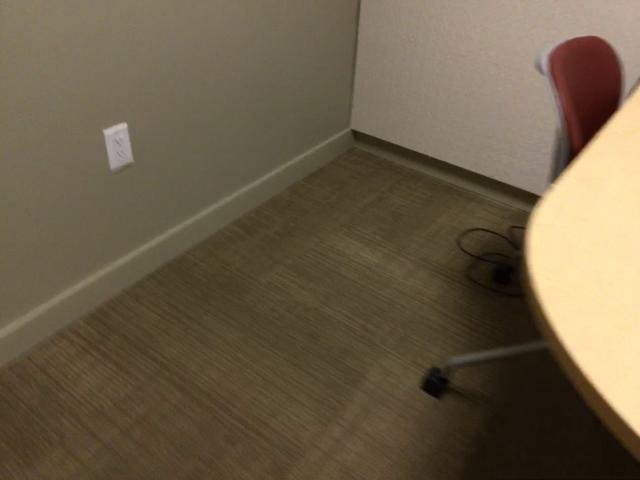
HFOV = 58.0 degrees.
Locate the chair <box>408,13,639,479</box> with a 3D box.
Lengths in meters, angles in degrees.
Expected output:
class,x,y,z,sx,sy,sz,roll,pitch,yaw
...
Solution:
class,x,y,z,sx,sy,sz,roll,pitch,yaw
chair,0.670,0.020,1.330,0.570,0.820,0.640,27,42,28
